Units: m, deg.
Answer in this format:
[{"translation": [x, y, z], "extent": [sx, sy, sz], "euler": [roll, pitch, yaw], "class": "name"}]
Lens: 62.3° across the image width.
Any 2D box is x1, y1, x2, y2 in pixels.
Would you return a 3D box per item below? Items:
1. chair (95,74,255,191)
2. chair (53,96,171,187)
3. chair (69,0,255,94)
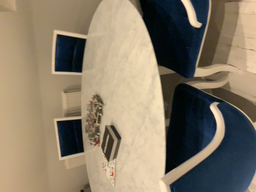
[{"translation": [0.370, 0.260, 1.060], "extent": [0.590, 0.900, 0.510], "euler": [36, 128, 52], "class": "chair"}, {"translation": [-0.160, 0.340, 2.040], "extent": [0.610, 0.900, 0.530], "euler": [5, 102, 60], "class": "chair"}, {"translation": [0.190, -0.450, 1.190], "extent": [0.530, 0.890, 0.610], "euler": [38, 130, 51], "class": "chair"}]
